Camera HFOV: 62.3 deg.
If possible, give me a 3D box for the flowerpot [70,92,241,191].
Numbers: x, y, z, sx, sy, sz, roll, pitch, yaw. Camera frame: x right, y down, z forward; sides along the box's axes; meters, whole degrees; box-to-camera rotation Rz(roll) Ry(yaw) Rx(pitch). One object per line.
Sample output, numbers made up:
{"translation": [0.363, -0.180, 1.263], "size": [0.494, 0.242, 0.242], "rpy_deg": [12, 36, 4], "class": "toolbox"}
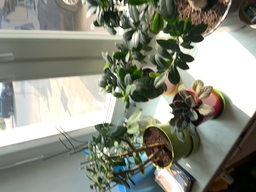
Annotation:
{"translation": [0.100, 0.200, 0.820], "size": [0.330, 0.530, 0.240], "rpy_deg": [40, 129, 43], "class": "flowerpot"}
